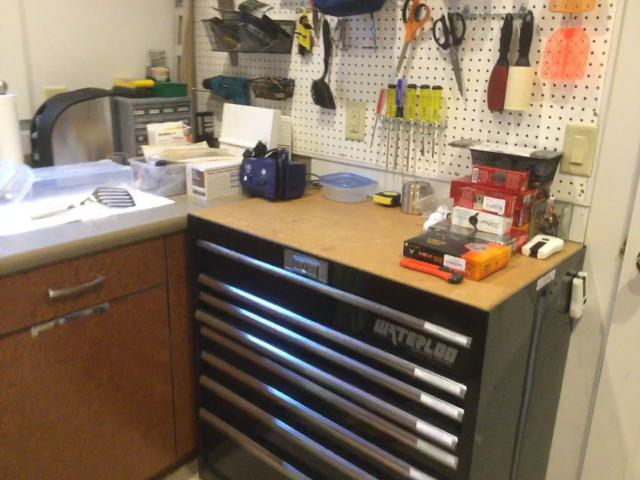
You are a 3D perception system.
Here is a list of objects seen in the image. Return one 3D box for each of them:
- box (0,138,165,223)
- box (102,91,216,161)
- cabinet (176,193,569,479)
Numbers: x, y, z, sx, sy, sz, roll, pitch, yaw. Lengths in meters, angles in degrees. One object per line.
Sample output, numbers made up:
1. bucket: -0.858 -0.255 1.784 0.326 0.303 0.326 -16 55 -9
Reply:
1. box: -0.770 -0.190 1.640 0.440 0.110 0.460 16 22 37
2. box: -0.530 -0.390 1.930 0.210 0.190 0.290 16 22 37
3. cabinet: 0.070 0.420 1.570 0.920 0.900 0.380 16 22 37
